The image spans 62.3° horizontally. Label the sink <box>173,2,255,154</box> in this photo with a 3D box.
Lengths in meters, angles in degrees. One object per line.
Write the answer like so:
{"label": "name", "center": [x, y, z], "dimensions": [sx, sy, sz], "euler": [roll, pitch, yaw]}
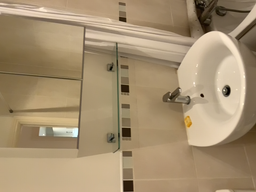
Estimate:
{"label": "sink", "center": [0.460, -0.050, 1.070], "dimensions": [0.490, 0.200, 0.580], "euler": [121, 151, -61]}
